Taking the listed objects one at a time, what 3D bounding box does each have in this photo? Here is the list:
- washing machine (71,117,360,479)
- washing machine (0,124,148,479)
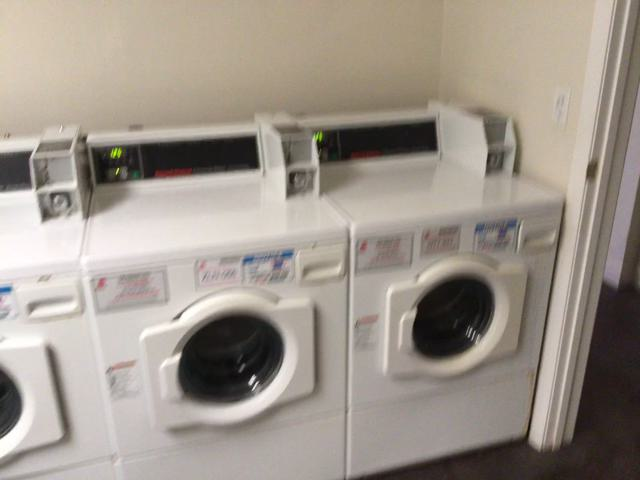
[{"bbox_3d":[-0.340,0.190,1.940,0.650,1.020,0.760,-11,21,-15],"label":"washing machine"},{"bbox_3d":[-0.970,0.270,1.710,0.670,1.040,0.750,-12,22,-18],"label":"washing machine"}]
